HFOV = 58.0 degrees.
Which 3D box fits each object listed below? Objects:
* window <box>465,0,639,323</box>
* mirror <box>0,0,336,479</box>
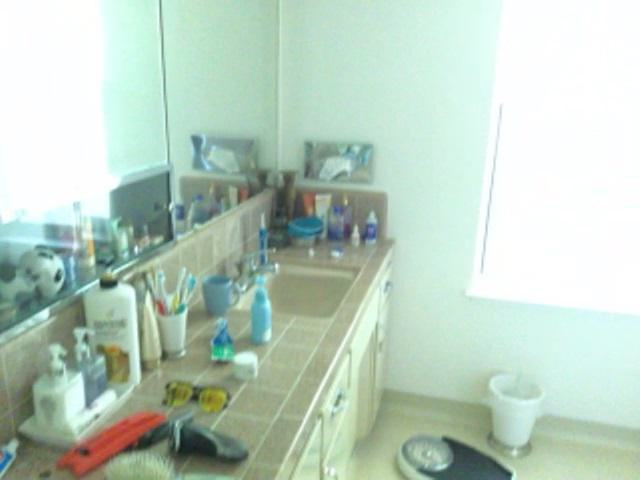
[{"bbox_3d":[0.950,-0.490,2.020,0.790,1.540,0.250,3,16,17],"label":"window"},{"bbox_3d":[-0.510,-0.290,1.090,0.310,1.350,2.690,3,16,18],"label":"mirror"}]
